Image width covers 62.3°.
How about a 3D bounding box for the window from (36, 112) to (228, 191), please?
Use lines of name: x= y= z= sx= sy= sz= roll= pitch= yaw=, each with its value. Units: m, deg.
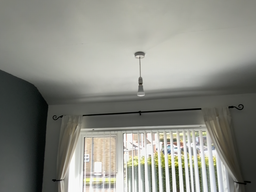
window: x=-0.050 y=0.910 z=2.520 sx=2.230 sy=1.330 sz=0.150 roll=-4 pitch=-12 yaw=13
